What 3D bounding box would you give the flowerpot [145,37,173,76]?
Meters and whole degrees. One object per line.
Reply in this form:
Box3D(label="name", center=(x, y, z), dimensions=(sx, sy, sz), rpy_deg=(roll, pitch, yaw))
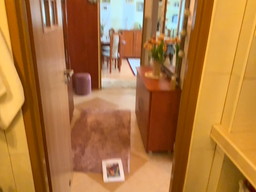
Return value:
Box3D(label="flowerpot", center=(0.380, -0.520, 2.710), dimensions=(0.240, 0.410, 0.400), rpy_deg=(1, 22, -4))
